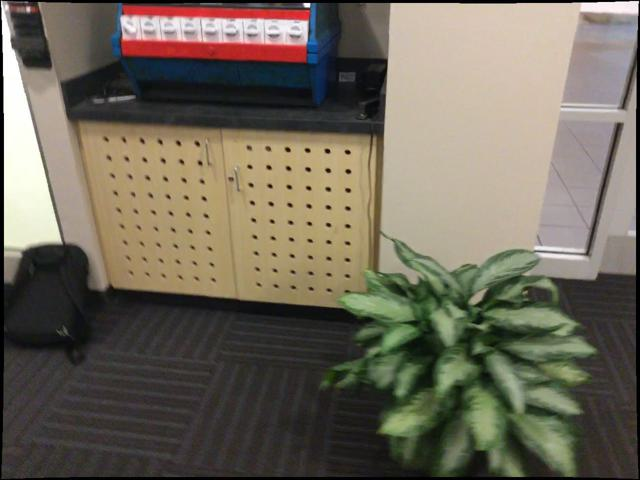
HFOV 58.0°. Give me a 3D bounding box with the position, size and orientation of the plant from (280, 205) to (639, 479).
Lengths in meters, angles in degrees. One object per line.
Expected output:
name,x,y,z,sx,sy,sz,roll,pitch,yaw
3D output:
plant,0.369,0.381,1.650,0.748,0.651,0.710,4,34,12

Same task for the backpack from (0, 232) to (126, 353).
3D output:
backpack,-1.137,0.211,2.430,0.429,0.321,0.360,4,34,12

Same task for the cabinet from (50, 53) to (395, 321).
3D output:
cabinet,-0.309,-0.261,2.500,1.187,0.891,0.670,4,34,12
